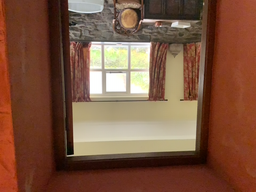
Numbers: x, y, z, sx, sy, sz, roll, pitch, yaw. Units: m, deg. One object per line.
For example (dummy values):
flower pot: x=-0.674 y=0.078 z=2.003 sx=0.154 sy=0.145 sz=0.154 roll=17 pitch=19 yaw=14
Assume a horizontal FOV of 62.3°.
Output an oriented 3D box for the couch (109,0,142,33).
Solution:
couch: x=-0.060 y=-1.550 z=3.700 sx=0.530 sy=0.780 sz=0.570 roll=0 pitch=-171 yaw=-4
